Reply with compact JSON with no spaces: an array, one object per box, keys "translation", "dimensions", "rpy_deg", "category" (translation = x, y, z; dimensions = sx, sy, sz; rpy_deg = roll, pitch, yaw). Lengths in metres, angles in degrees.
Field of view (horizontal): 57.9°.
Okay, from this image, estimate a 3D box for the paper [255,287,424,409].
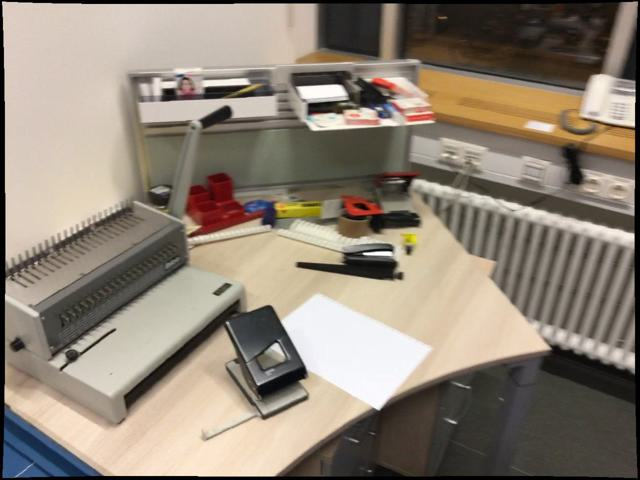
[{"translation":[0.040,0.210,1.200],"dimensions":[0.280,0.020,0.210],"rpy_deg":[23,39,29],"category":"paper"}]
